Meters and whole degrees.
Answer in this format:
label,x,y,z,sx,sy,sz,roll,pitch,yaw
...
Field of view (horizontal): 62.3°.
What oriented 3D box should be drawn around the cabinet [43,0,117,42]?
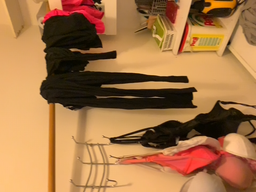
label,x,y,z,sx,sy,sz,roll,pitch,yaw
cabinet,-0.280,-0.670,1.270,0.230,0.420,0.630,-97,9,-48
